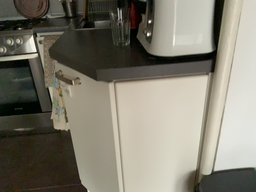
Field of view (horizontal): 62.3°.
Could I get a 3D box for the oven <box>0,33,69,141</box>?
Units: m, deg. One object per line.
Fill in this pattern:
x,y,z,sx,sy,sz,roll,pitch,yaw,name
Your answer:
-0.850,-0.110,1.810,0.480,0.700,0.620,-5,27,-4,oven
